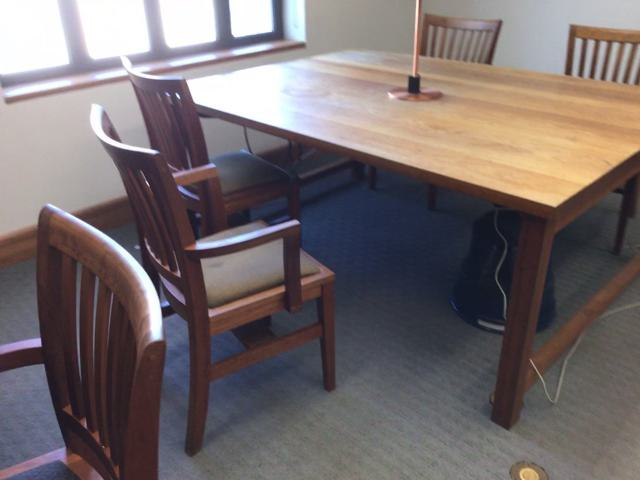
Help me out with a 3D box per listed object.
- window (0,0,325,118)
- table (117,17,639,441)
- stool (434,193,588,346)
[{"bbox_3d":[-0.750,-1.470,2.870,0.300,1.290,1.820,21,36,40],"label":"window"},{"bbox_3d":[0.340,-0.370,2.570,2.030,0.950,1.410,21,36,40],"label":"table"},{"bbox_3d":[0.730,0.090,2.240,0.390,0.360,0.410,21,36,40],"label":"stool"}]
